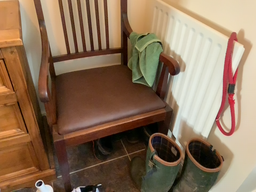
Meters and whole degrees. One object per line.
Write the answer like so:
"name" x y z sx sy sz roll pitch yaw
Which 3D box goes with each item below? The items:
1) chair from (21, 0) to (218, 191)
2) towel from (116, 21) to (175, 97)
"chair" -0.120 -0.110 1.080 0.590 1.030 0.590 -11 42 -20
"towel" 0.070 -0.210 1.140 0.150 0.250 0.340 -12 42 -20
